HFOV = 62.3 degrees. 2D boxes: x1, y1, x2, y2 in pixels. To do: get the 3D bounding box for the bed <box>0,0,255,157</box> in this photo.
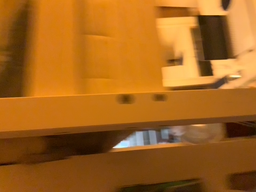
[{"bbox_3d":[0.470,-0.810,1.500,1.530,2.120,2.160,120,145,-71],"label":"bed"}]
